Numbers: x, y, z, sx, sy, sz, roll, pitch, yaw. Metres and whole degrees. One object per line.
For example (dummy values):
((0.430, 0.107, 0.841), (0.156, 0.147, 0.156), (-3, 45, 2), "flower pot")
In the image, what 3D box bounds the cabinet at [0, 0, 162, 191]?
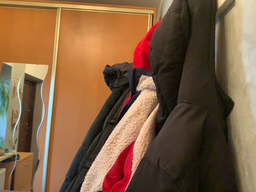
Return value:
((-0.670, 0.400, 1.890), (1.730, 2.480, 0.370), (4, -4, 0), "cabinet")
